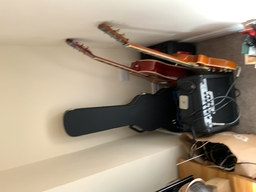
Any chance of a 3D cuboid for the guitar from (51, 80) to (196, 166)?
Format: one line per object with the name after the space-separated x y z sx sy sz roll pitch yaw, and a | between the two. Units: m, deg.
0.020 0.130 1.600 0.360 1.040 0.400 -1 95 55 | guitar
